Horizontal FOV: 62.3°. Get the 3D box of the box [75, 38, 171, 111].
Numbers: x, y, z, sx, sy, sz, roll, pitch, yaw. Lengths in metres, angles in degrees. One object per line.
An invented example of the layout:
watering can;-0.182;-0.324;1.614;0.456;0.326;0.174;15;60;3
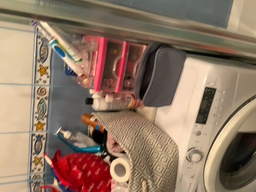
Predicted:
box;-0.030;-0.080;0.800;0.180;0.280;0.210;41;124;55
